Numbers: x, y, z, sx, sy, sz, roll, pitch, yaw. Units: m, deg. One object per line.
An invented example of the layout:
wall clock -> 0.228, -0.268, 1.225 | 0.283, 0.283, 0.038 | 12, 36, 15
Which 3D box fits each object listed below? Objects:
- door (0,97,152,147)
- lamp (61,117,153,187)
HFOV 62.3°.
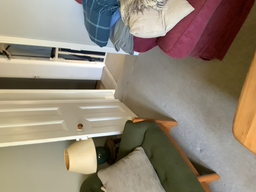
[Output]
door -> -0.760, 0.210, 2.200 | 0.790, 1.880, 0.110 | 39, 124, 56
lamp -> -0.240, 0.550, 2.240 | 0.470, 0.800, 0.400 | 55, 137, 47
